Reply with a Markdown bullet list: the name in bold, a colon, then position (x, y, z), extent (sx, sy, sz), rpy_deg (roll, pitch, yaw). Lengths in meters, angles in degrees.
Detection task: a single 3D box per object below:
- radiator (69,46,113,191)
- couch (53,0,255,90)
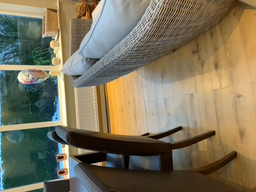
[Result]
- **radiator**: position (-0.540, 0.330, 3.060), extent (0.120, 0.450, 2.110), rpy_deg (-16, 78, 62)
- **couch**: position (-0.010, -0.590, 1.600), extent (1.910, 0.750, 0.870), rpy_deg (-10, 83, 62)
